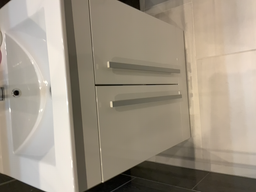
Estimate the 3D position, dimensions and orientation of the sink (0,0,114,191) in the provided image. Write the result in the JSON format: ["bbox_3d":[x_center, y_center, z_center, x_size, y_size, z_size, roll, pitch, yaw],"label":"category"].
[{"bbox_3d":[-0.290,-0.020,0.720,0.460,0.150,0.610,-4,91,38],"label":"sink"}]
